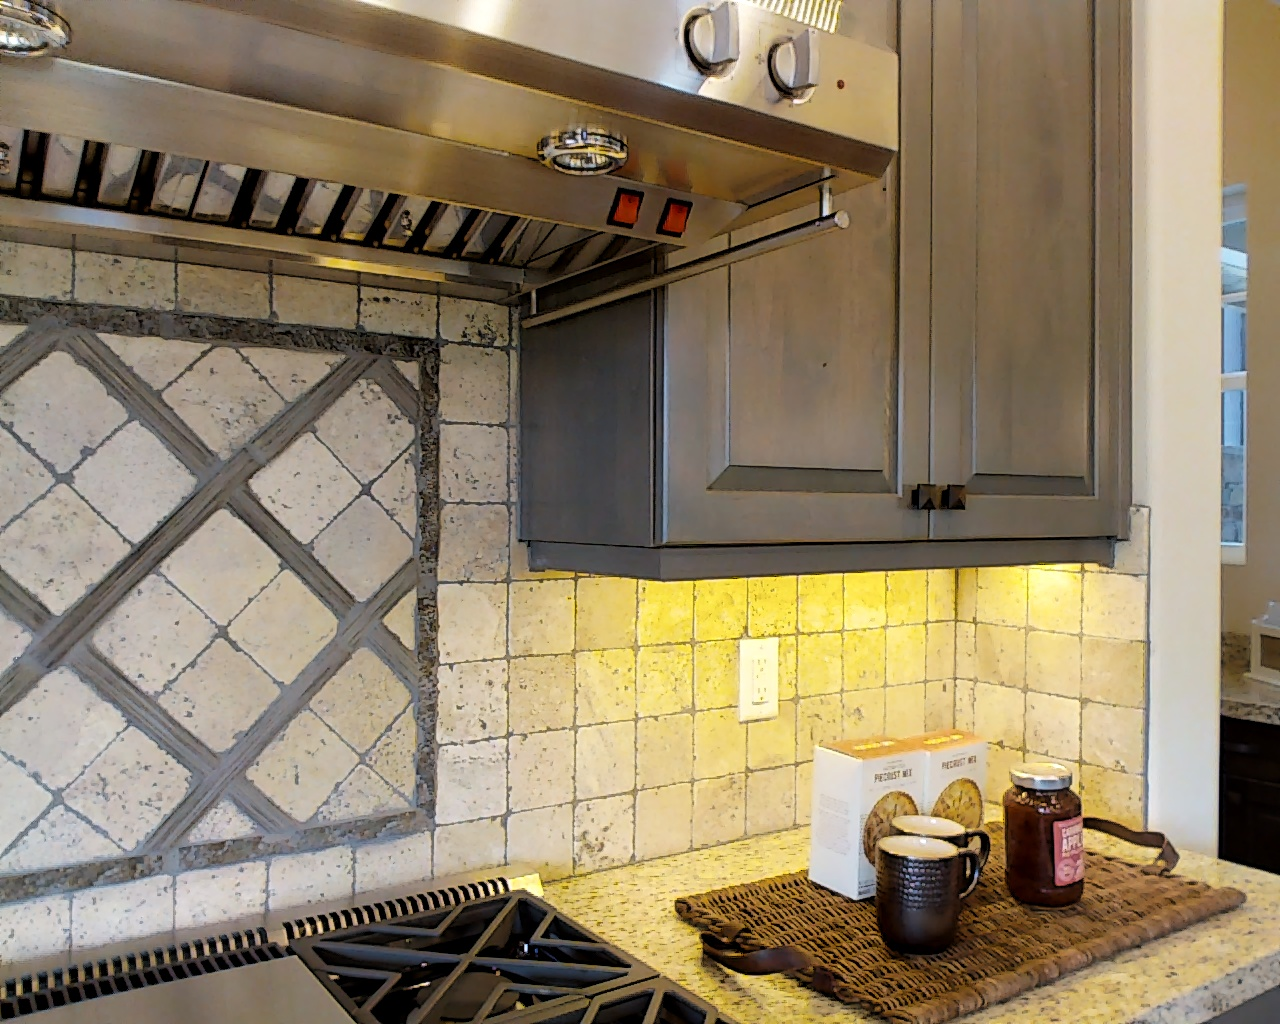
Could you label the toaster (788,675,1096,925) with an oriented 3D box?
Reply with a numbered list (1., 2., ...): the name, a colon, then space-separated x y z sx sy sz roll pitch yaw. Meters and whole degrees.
1. toaster: 0.410 0.360 1.420 0.430 0.230 0.160 0 0 -36
